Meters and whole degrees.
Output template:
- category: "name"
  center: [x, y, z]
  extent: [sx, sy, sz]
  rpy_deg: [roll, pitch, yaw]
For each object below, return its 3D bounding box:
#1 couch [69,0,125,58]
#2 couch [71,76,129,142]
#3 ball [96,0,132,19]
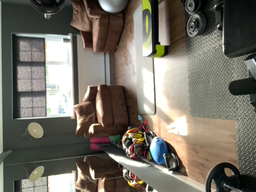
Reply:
- category: "couch"
  center: [-0.700, -1.490, 4.360]
  extent: [1.000, 0.860, 0.920]
  rpy_deg: [121, 142, -54]
- category: "couch"
  center: [-0.610, 0.270, 4.190]
  extent: [0.930, 0.860, 0.970]
  rpy_deg: [126, 139, -57]
- category: "ball"
  center: [-0.260, -1.680, 3.710]
  extent: [0.450, 0.510, 0.410]
  rpy_deg: [163, 105, -68]
